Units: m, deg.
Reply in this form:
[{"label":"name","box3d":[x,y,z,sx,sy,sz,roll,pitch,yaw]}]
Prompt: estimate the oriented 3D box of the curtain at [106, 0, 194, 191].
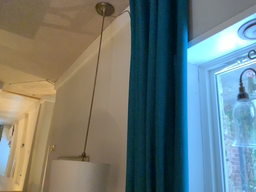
[{"label":"curtain","box3d":[0.100,0.230,1.170,0.150,2.220,0.490,17,158,-35]}]
